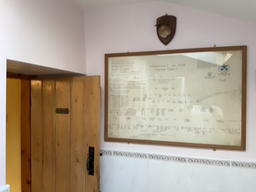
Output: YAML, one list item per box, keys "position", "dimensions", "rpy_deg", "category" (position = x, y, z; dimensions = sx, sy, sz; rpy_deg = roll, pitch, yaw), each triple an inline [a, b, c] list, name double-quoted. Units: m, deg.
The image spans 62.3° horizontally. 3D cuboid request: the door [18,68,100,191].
- position: [-0.630, 0.750, 1.830]
  dimensions: [0.910, 1.920, 0.050]
  rpy_deg: [0, 1, 29]
  category: "door"
